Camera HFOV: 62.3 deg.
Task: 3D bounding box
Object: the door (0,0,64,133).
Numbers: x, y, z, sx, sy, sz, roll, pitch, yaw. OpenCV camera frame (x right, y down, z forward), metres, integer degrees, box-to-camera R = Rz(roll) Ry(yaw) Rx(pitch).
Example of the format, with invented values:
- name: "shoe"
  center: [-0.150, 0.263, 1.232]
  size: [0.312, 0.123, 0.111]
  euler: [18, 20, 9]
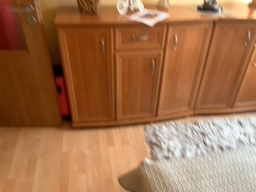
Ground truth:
- name: "door"
  center: [-1.050, -0.540, 1.500]
  size: [0.870, 2.050, 0.130]
  euler: [2, 35, -1]
